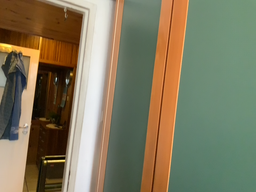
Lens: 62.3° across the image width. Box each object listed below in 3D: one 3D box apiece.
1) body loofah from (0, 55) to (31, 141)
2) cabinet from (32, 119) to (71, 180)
[{"bbox_3d":[-1.280,0.030,2.340,0.250,0.900,0.180,8,-1,-34],"label":"body loofah"},{"bbox_3d":[-1.520,0.980,4.130,0.390,0.880,1.050,8,-1,-32],"label":"cabinet"}]
